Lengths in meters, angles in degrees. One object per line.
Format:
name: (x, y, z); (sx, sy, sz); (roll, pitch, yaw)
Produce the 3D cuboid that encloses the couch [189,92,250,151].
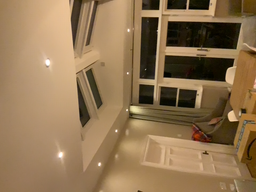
couch: (2.110, 0.590, 5.120); (0.830, 1.090, 0.980); (-68, -19, -55)
